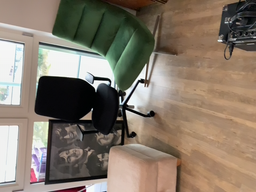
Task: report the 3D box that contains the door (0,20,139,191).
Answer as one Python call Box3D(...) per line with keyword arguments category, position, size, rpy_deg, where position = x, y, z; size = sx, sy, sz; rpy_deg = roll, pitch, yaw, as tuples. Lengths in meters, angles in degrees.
Box3D(category="door", position=(-1.080, 0.150, 2.060), size=(0.100, 2.610, 1.630), rpy_deg=(14, 98, 57))

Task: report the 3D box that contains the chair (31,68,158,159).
Box3D(category="chair", position=(-0.350, 0.140, 2.130), size=(0.630, 1.010, 0.620), rpy_deg=(26, 108, 55))
